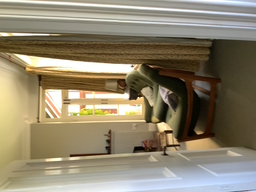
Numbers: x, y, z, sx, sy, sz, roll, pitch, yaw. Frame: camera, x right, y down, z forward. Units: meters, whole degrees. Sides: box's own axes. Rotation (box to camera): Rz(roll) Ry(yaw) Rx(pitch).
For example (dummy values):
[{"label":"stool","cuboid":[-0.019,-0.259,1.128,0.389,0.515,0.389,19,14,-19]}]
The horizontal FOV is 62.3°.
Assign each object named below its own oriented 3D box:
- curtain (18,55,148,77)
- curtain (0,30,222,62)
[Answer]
[{"label":"curtain","cuboid":[-0.780,-0.550,3.990,0.650,2.190,0.270,156,112,-80]},{"label":"curtain","cuboid":[-0.280,-0.530,2.310,0.260,2.670,0.210,177,93,-81]}]
